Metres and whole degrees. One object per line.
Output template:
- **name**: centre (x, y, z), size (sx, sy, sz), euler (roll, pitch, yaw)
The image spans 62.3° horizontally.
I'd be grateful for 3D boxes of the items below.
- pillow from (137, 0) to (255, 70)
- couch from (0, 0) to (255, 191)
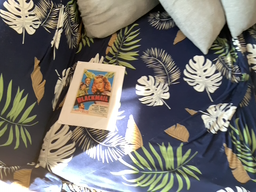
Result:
- **pillow**: centre (0.370, -0.470, 1.010), size (0.430, 0.320, 0.450), euler (-38, 70, -22)
- **couch**: centre (0.030, 0.160, 0.850), size (1.070, 0.680, 0.520), euler (10, 61, 2)
